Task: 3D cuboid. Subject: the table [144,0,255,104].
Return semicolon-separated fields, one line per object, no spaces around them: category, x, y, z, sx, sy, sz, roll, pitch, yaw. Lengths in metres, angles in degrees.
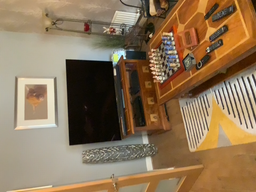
table;0.680;-0.500;1.980;1.300;0.460;0.820;138;128;-63

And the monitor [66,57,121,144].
monitor;-0.500;0.030;3.030;0.080;0.700;1.220;138;129;-63
